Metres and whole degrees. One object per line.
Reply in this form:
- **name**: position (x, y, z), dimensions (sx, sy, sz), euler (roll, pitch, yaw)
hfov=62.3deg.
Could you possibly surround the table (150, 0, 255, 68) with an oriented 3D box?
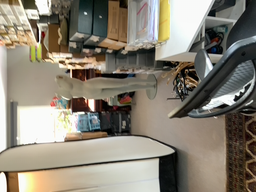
- **table**: position (0.680, -0.690, 1.240), dimensions (1.030, 0.720, 0.920), euler (-178, 87, -70)

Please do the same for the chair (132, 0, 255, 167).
- **chair**: position (0.660, -0.230, 0.880), dimensions (0.690, 1.020, 0.640), euler (110, 151, -44)

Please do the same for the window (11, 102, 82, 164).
- **window**: position (-1.780, 0.780, 4.750), dimensions (0.280, 1.410, 1.230), euler (-176, 85, -70)
